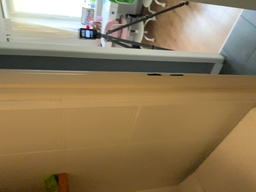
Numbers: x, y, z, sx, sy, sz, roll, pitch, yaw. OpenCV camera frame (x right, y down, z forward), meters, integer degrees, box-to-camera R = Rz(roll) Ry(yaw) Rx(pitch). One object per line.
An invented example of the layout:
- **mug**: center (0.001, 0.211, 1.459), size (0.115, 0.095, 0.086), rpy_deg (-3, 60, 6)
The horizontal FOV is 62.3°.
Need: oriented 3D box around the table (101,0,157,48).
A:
- **table**: center (0.000, -1.480, 3.680), size (0.420, 0.750, 1.180), rpy_deg (-107, 24, -43)
